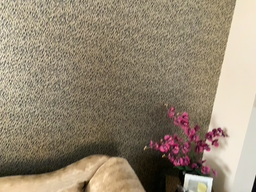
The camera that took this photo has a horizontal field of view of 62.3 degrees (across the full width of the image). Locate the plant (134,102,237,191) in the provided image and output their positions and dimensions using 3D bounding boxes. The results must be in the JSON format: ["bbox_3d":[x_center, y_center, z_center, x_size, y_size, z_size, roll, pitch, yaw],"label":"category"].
[{"bbox_3d":[0.480,0.490,1.940,0.650,0.730,0.450,6,11,-16],"label":"plant"}]
